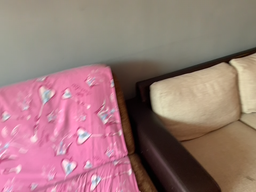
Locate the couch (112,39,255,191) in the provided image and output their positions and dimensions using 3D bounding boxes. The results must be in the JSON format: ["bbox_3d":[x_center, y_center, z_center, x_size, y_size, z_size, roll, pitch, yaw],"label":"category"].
[{"bbox_3d":[0.870,0.200,1.530,1.640,0.760,1.030,-17,34,-15],"label":"couch"}]

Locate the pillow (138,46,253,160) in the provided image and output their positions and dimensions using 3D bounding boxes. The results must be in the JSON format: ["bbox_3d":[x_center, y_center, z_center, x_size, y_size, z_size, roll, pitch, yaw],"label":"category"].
[{"bbox_3d":[0.470,0.040,1.490,0.620,0.480,0.160,-38,4,-8],"label":"pillow"}]
